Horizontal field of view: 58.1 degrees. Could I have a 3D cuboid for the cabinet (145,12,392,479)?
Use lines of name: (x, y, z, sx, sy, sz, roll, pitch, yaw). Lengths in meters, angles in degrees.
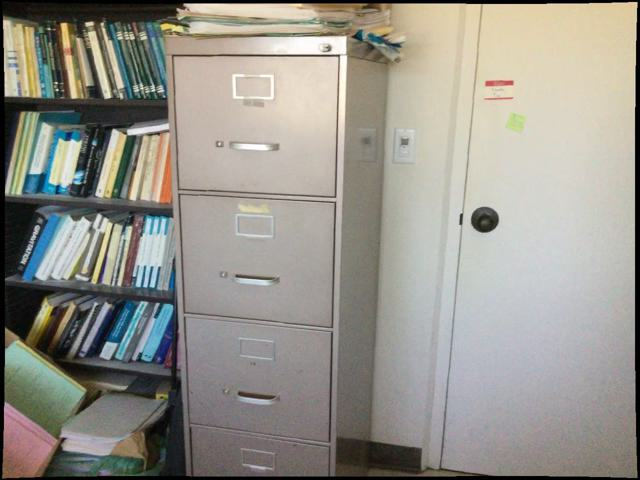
cabinet: (-0.090, 0.231, 1.600, 0.449, 1.554, 0.600, 4, 16, 10)
